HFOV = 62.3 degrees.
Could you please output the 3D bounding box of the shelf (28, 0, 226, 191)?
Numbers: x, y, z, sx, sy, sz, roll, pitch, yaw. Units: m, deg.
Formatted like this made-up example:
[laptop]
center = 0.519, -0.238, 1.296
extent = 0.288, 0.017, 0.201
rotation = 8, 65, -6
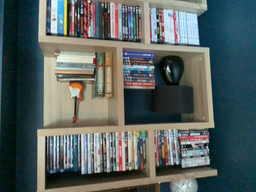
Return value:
[shelf]
center = -0.010, -0.450, 1.220
extent = 0.950, 1.830, 0.340
rotation = 0, 175, -17
